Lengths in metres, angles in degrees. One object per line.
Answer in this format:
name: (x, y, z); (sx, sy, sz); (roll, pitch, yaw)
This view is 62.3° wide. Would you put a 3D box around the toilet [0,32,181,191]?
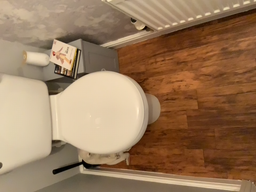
toilet: (-0.230, 0.100, 1.000); (0.690, 0.770, 0.450); (-6, 87, 32)
